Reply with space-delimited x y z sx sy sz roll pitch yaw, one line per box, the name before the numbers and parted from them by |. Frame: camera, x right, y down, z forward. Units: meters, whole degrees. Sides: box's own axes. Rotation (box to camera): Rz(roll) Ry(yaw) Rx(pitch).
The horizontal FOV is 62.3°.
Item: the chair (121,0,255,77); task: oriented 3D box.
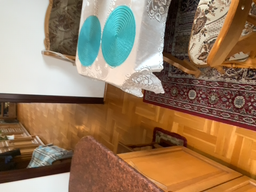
chair | 0.500 -0.350 1.080 0.530 0.870 0.420 21 104 50
